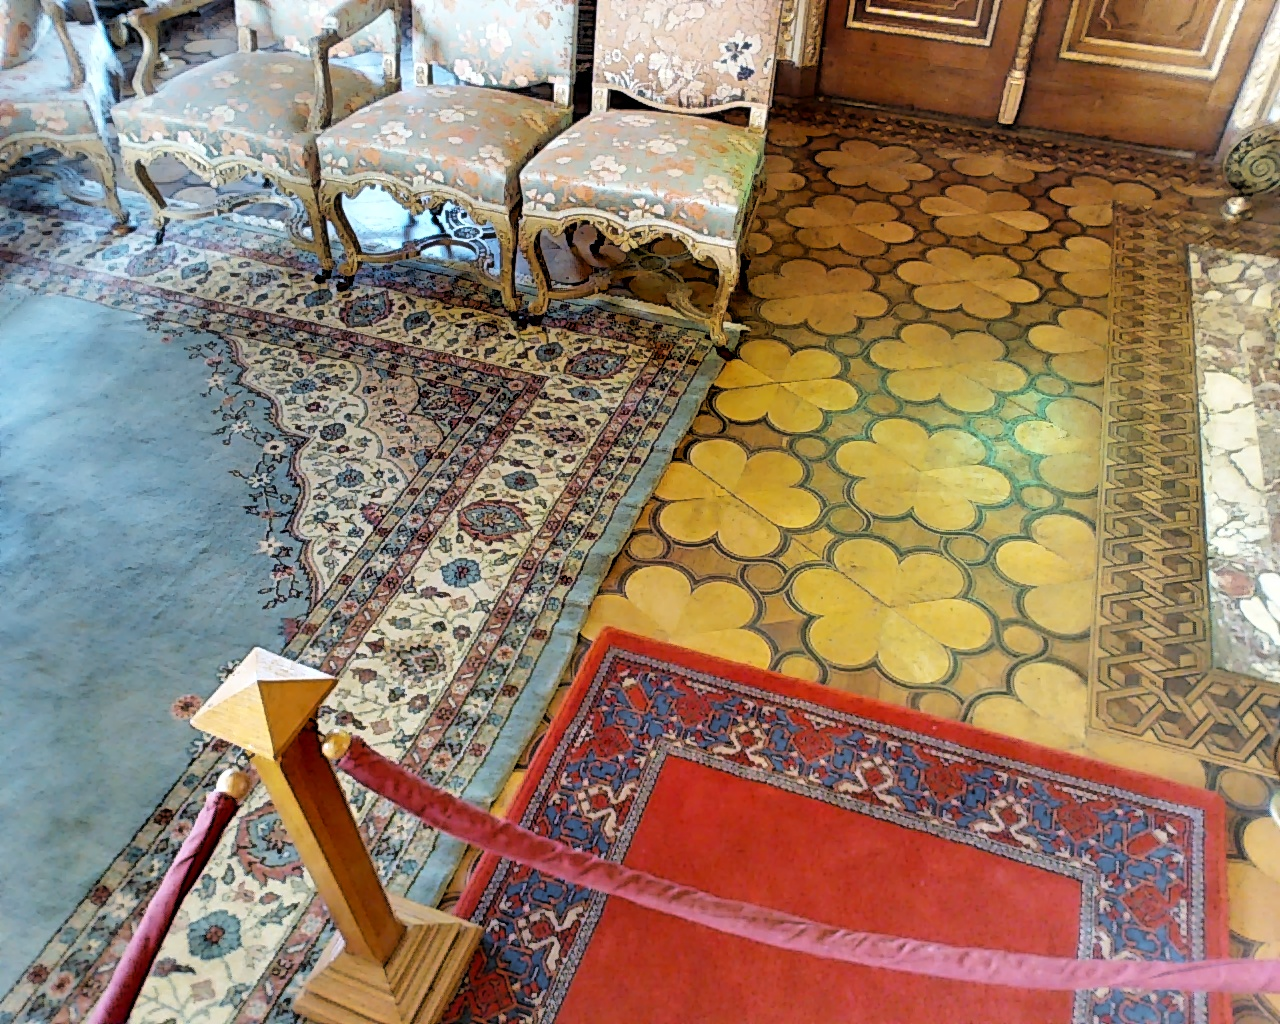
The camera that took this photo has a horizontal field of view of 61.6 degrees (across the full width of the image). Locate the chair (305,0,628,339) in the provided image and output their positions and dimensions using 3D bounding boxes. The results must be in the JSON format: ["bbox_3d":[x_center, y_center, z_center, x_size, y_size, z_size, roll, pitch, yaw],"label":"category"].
[{"bbox_3d":[-0.440,-1.220,3.080,0.590,1.130,0.730,13,44,14],"label":"chair"}]

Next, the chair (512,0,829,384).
[{"bbox_3d":[0.110,-1.080,2.950,0.620,1.150,0.710,13,44,14],"label":"chair"}]

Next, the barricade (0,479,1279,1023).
[{"bbox_3d":[0.270,0.700,1.230,1.680,0.810,0.800,14,44,15],"label":"barricade"}]

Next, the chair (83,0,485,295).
[{"bbox_3d":[-1.050,-1.440,3.260,0.770,1.190,0.770,15,44,16],"label":"chair"}]
